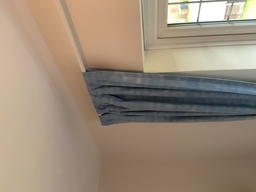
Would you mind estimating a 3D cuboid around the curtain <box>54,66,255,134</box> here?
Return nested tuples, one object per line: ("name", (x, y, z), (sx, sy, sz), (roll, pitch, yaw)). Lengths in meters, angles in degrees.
("curtain", (0.440, 0.040, 1.070), (0.390, 1.520, 0.130), (80, -169, -52))
